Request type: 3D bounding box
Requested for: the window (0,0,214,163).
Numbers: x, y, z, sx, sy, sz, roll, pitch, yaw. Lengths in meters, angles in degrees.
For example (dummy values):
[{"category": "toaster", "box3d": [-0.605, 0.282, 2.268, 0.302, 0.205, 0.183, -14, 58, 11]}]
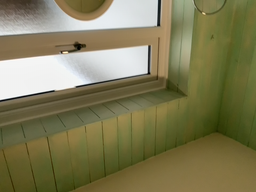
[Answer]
[{"category": "window", "box3d": [-0.170, -0.400, 1.030, 1.370, 1.150, 0.290, -13, -155, -28]}]
